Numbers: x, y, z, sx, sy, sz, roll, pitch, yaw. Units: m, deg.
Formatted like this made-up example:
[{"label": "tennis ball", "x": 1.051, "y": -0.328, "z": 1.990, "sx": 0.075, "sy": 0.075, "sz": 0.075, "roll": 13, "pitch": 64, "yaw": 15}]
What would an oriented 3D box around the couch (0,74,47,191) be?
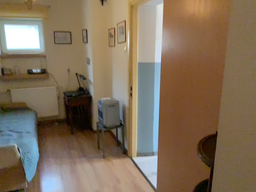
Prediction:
[{"label": "couch", "x": -1.810, "y": 0.300, "z": 2.990, "sx": 1.040, "sy": 0.910, "sz": 2.200, "roll": -6, "pitch": 14, "yaw": -24}]
